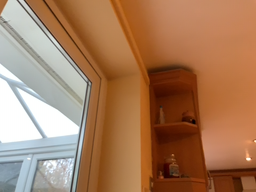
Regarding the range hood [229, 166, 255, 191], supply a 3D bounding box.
[{"bbox_3d":[2.350,1.720,4.130,0.560,0.550,0.490,-9,-33,15],"label":"range hood"}]
